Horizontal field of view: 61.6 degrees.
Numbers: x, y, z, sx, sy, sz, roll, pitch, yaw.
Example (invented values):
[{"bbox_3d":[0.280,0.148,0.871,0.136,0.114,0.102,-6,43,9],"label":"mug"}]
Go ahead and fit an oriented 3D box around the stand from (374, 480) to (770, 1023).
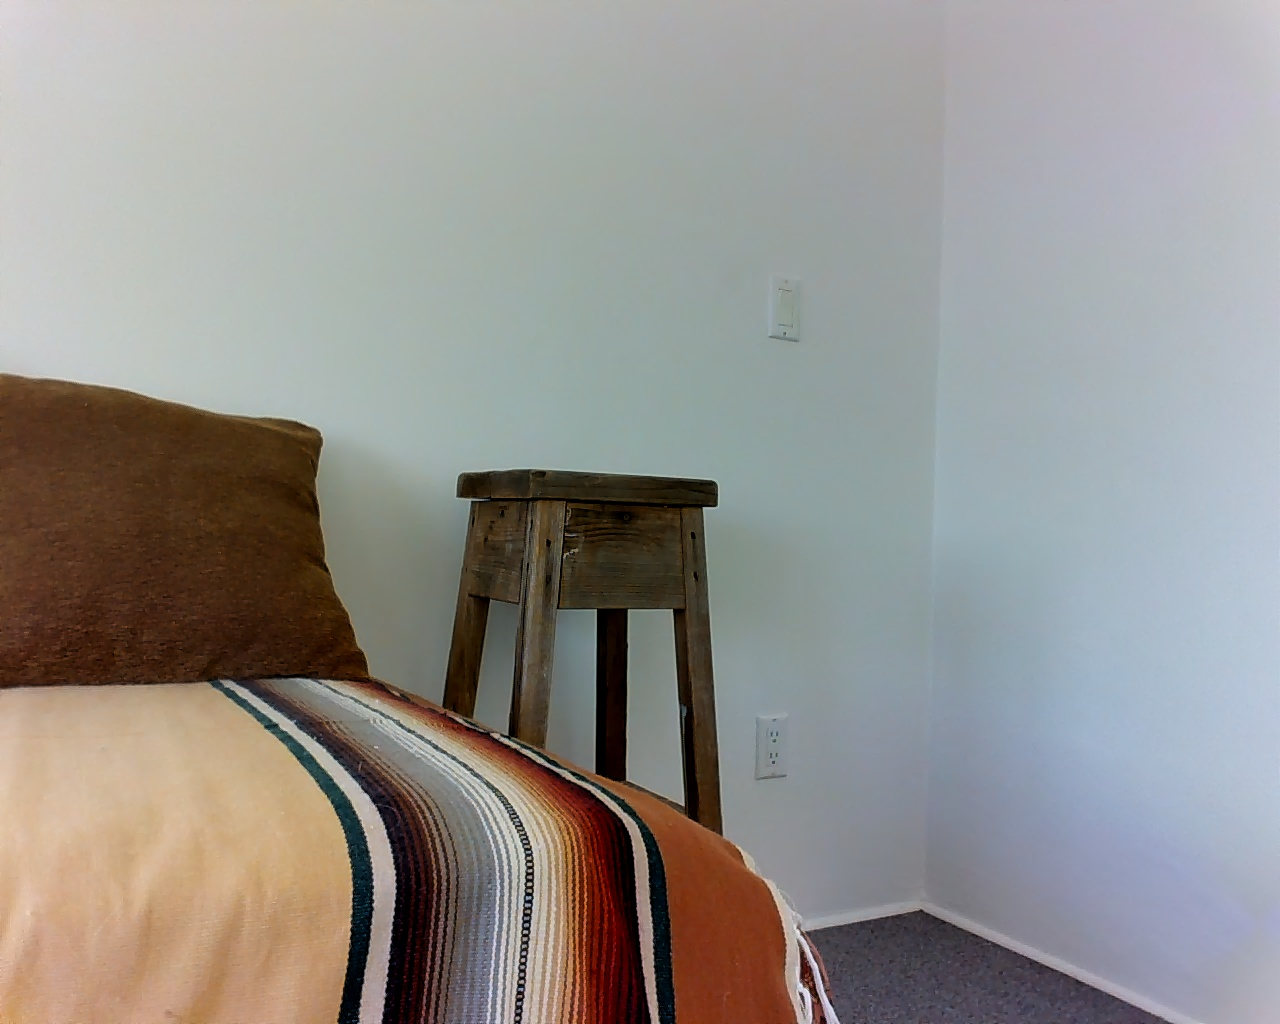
[{"bbox_3d":[-0.110,0.360,1.530,0.400,0.780,0.400,3,-1,-29],"label":"stand"}]
